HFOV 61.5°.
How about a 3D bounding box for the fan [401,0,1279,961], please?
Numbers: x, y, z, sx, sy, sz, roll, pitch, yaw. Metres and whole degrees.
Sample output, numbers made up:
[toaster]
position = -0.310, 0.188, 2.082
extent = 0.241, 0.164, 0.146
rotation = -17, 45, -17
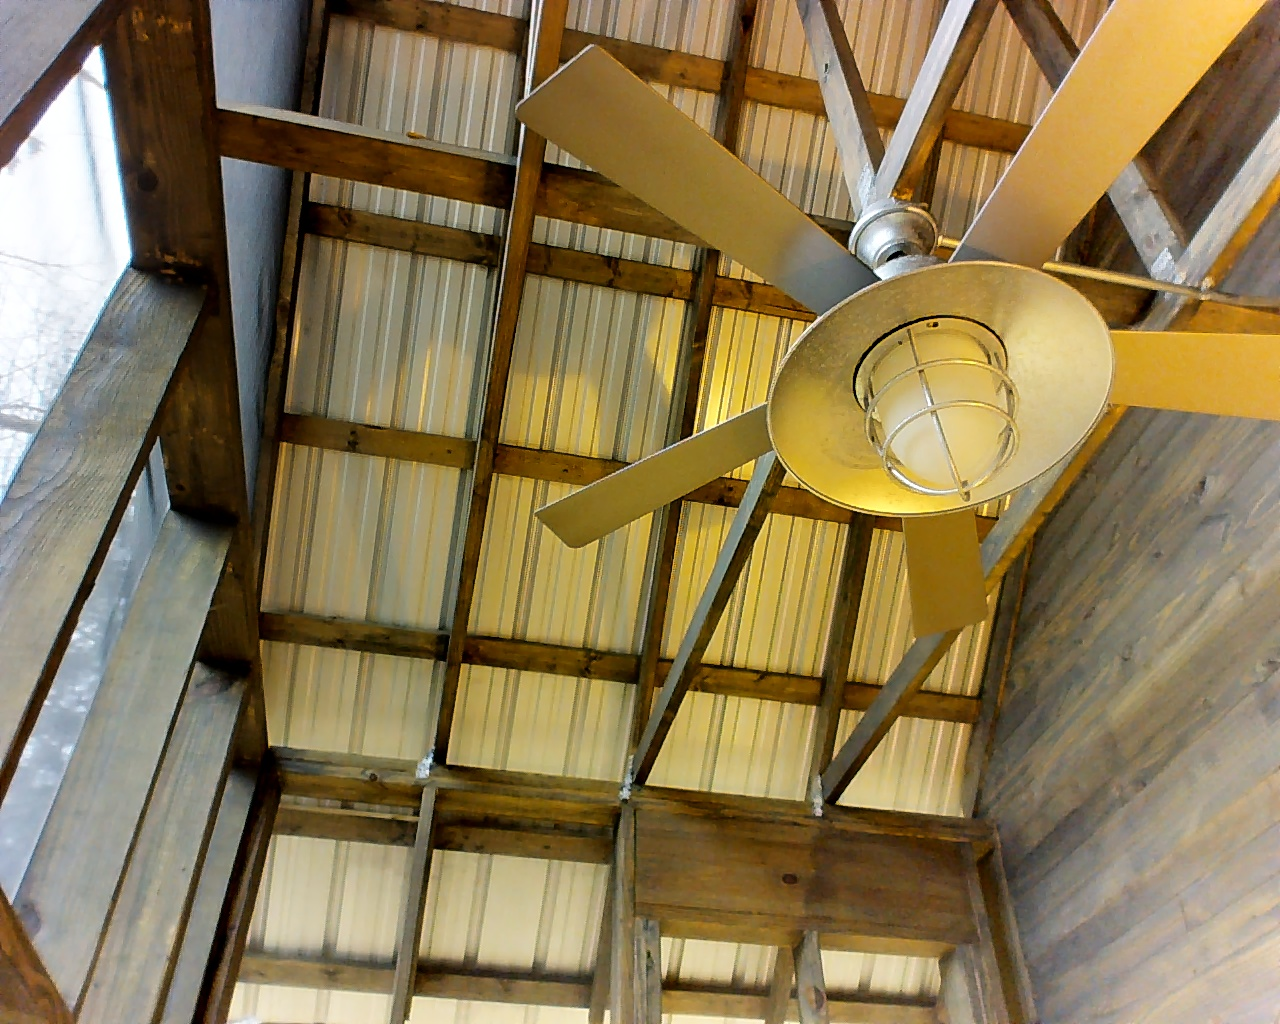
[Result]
[fan]
position = 0.390, -0.220, 1.670
extent = 1.340, 1.330, 0.600
rotation = -31, 63, -35
